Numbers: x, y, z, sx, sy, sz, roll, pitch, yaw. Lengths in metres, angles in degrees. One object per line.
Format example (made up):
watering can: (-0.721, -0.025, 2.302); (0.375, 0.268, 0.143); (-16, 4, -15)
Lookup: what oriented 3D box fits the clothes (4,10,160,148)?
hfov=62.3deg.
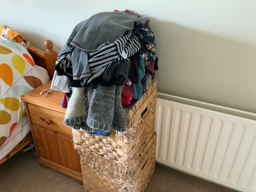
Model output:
clothes: (-0.160, -0.150, 1.060); (0.410, 0.430, 0.580); (16, 33, 26)

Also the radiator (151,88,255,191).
radiator: (0.740, 0.380, 1.180); (1.220, 0.610, 0.130); (14, 32, 22)
